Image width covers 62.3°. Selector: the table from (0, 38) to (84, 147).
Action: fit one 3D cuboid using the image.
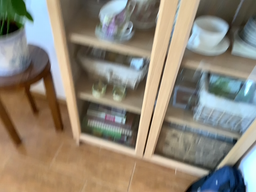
[{"bbox_3d":[-0.460,0.000,1.220,0.280,0.530,0.280,13,47,7],"label":"table"}]
